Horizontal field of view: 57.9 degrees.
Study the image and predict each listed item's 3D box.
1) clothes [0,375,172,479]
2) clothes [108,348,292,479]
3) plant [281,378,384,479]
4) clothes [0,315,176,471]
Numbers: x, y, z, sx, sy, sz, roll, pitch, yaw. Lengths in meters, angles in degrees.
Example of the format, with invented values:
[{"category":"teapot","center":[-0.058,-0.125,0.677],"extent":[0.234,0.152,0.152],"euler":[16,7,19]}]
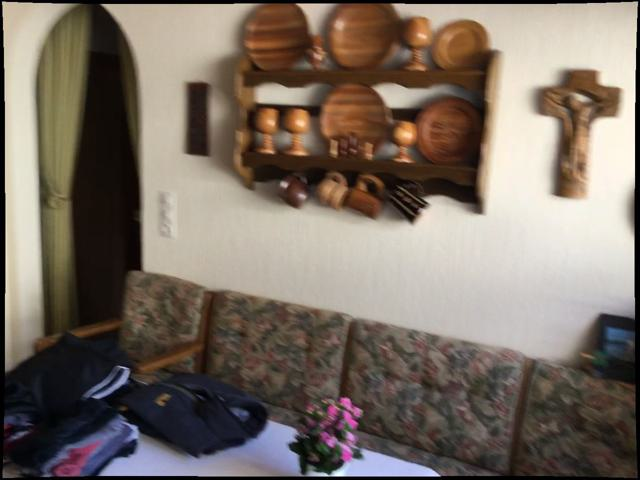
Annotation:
[{"category":"clothes","center":[-0.579,0.490,1.440],"extent":[0.260,0.130,0.320],"euler":[10,14,26]},{"category":"clothes","center":[-0.340,0.480,1.670],"extent":[0.400,0.140,0.330],"euler":[10,14,26]},{"category":"plant","center":[0.030,0.490,1.390],"extent":[0.180,0.230,0.160],"euler":[10,14,26]},{"category":"clothes","center":[-0.749,0.410,1.700],"extent":[0.380,0.160,0.520],"euler":[10,14,26]}]
